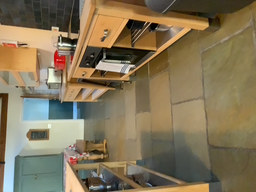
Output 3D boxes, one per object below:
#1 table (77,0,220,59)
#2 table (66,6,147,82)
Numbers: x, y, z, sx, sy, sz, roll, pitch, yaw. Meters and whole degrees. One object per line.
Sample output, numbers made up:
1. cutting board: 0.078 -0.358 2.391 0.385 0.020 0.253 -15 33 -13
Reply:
1. table: 0.100 -0.750 1.610 0.600 0.880 0.690 157 114 -68
2. table: -0.290 -0.590 2.640 0.510 0.880 0.690 157 114 -68
